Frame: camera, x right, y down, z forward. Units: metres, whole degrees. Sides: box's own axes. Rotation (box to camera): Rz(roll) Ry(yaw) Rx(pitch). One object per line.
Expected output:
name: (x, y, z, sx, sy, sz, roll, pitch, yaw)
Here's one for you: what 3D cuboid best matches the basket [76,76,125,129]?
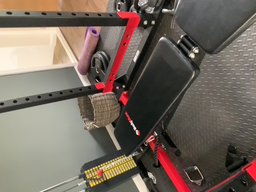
basket: (-0.310, 0.060, 2.260, 0.380, 0.310, 0.350, 59, 142, 26)
